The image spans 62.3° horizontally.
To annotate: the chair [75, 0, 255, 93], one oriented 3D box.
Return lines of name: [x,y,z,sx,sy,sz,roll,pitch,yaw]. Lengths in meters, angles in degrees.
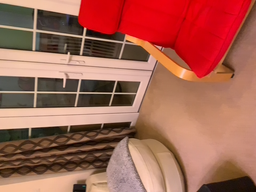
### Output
chair: [0.280,-0.540,1.320,0.800,0.960,0.710,55,136,47]
